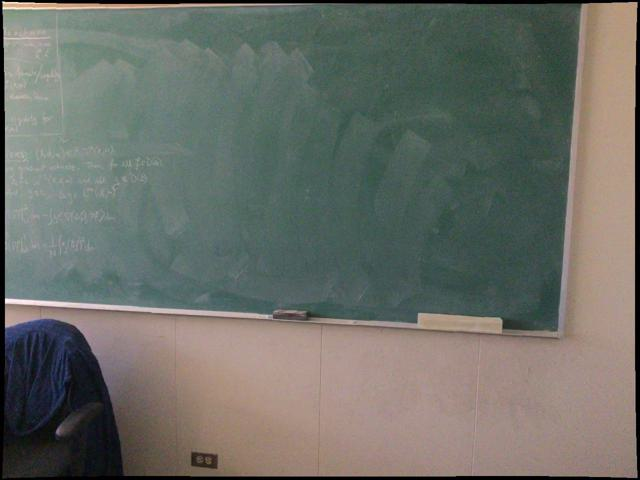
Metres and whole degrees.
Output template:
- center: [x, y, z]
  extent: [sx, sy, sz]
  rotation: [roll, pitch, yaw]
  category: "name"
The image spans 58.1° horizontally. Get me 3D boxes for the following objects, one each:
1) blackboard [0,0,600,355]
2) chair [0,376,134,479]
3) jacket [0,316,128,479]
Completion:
- center: [-0.319, -0.261, 2.250]
  extent: [2.534, 1.293, 0.170]
  rotation: [1, 9, 10]
  category: "blackboard"
- center: [-1.127, 0.932, 2.130]
  extent: [0.648, 0.652, 0.550]
  rotation: [1, 9, 10]
  category: "chair"
- center: [-1.107, 0.742, 2.310]
  extent: [0.539, 0.802, 0.270]
  rotation: [1, 9, 10]
  category: "jacket"
